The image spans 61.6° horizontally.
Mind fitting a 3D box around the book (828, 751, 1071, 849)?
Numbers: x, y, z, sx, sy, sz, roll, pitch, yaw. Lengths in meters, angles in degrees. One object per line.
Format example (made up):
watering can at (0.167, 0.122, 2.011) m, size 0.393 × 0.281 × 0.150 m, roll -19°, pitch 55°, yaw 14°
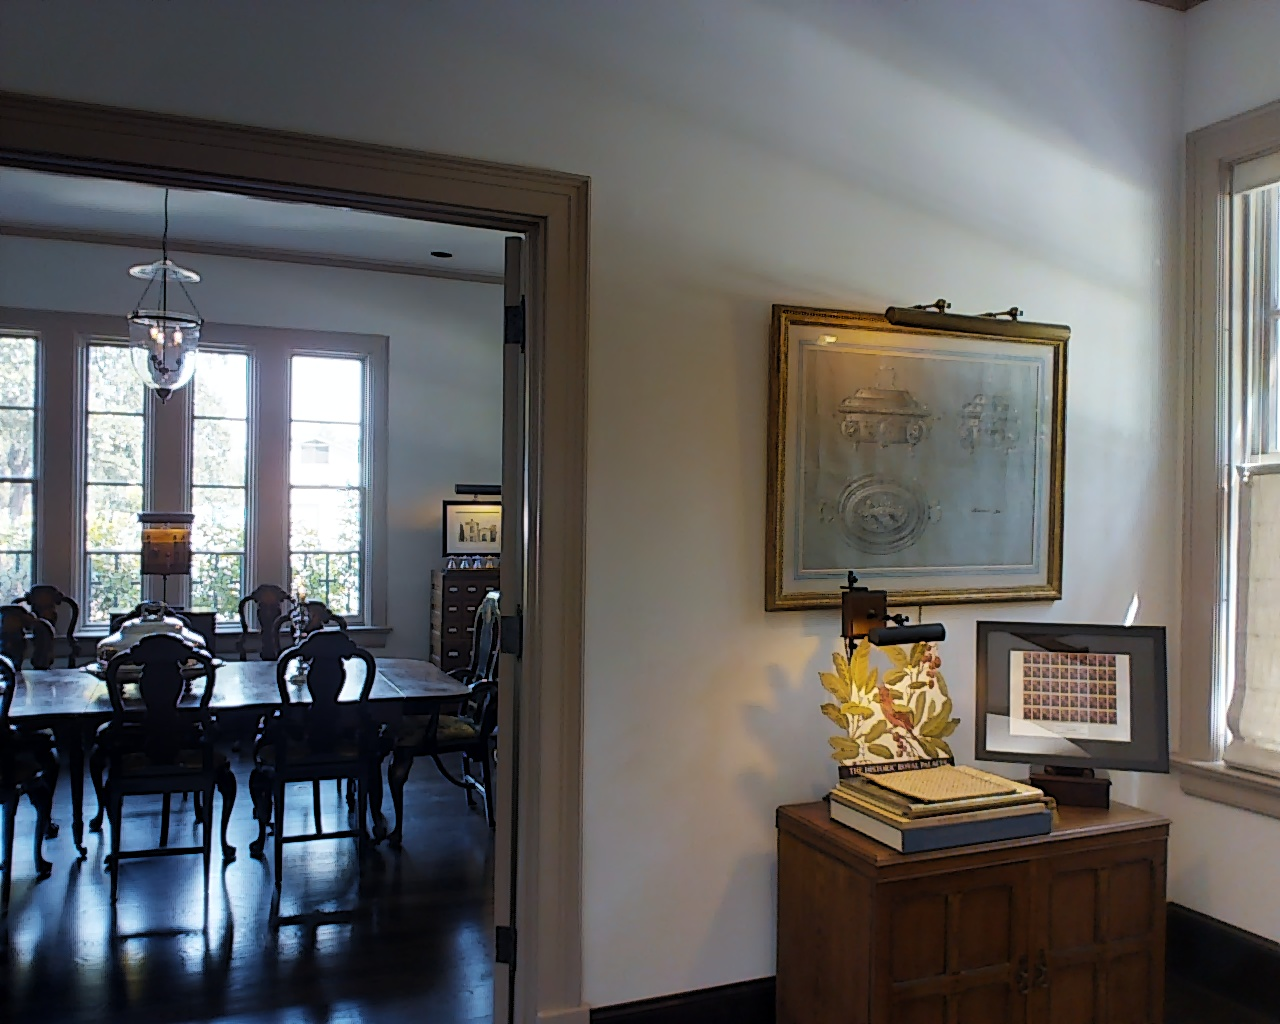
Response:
book at (0.800, 0.740, 2.800) m, size 0.500 × 0.120 × 0.350 m, roll 1°, pitch 0°, yaw -23°
